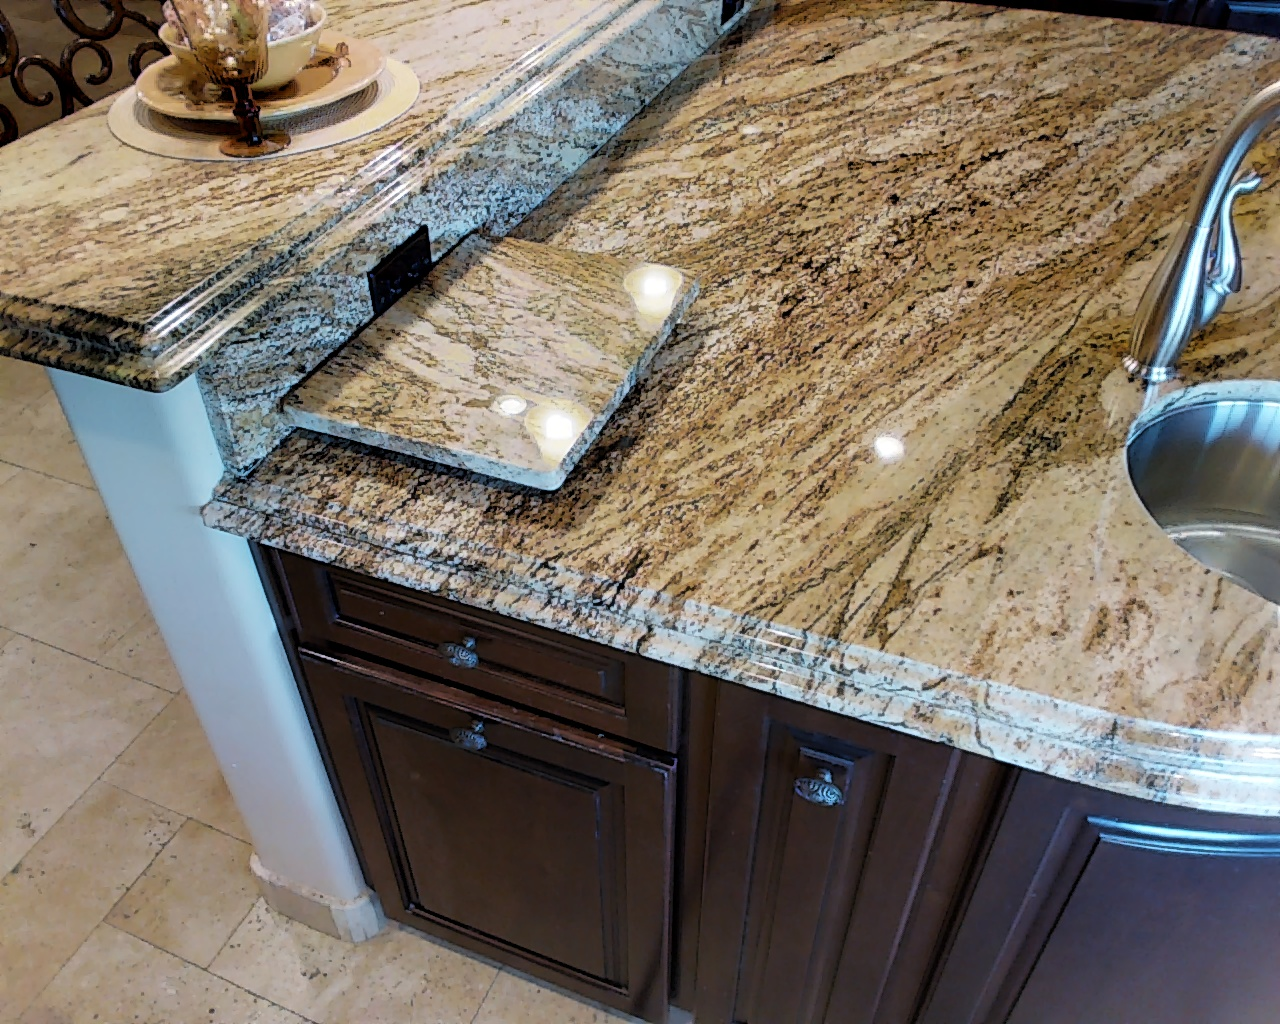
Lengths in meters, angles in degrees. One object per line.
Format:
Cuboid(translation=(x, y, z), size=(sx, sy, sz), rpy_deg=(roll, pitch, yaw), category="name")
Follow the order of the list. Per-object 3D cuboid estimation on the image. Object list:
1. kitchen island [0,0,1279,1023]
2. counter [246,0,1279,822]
Cuboid(translation=(0.370, -0.260, 1.810), size=(1.951, 1.090, 2.030), rpy_deg=(15, 44, 17), category="kitchen island")
Cuboid(translation=(0.610, -0.430, 1.520), size=(1.390, 0.100, 1.860), rpy_deg=(15, 44, 17), category="counter")
